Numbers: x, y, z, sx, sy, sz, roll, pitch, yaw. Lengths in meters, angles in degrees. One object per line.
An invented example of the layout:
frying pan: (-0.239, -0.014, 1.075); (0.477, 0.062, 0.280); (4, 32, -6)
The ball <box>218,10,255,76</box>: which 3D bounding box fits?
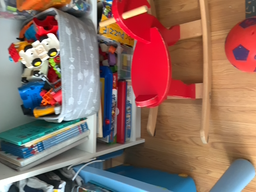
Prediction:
ball: (0.450, -0.180, 0.770); (0.170, 0.180, 0.200); (4, 93, 40)
